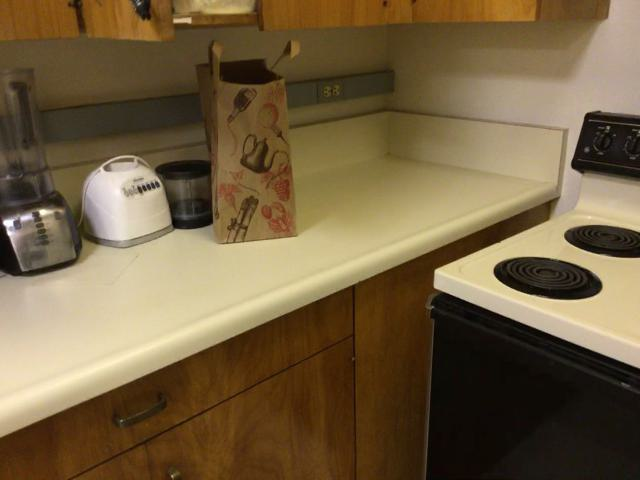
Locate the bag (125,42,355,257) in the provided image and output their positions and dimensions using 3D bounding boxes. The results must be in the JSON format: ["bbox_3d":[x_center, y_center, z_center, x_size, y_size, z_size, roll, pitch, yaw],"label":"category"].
[{"bbox_3d":[-0.190,-0.250,1.380,0.310,0.410,0.460,-18,26,-39],"label":"bag"}]
